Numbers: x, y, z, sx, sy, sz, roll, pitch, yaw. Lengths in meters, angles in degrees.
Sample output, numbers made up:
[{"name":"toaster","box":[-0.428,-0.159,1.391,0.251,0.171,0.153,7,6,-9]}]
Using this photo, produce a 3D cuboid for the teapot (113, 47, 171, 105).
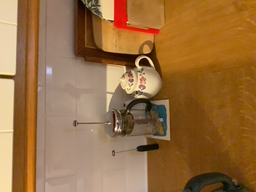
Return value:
[{"name":"teapot","box":[0.050,-0.060,0.800,0.150,0.160,0.190,-4,85,56]}]
